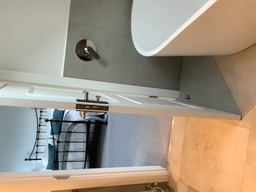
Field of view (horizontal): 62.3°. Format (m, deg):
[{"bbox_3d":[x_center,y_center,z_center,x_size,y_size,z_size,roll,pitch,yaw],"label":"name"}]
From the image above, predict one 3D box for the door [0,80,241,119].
[{"bbox_3d":[-0.360,-0.010,1.350,0.940,1.900,0.070,-170,86,-66],"label":"door"}]
